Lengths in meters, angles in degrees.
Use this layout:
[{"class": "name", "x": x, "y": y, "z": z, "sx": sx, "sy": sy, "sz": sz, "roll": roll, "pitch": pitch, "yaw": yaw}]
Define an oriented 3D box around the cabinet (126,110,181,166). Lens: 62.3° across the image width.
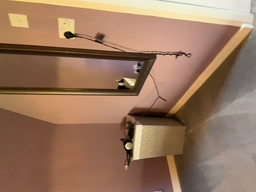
[{"class": "cabinet", "x": 0.230, "y": 0.440, "z": 2.210, "sx": 0.450, "sy": 0.380, "sz": 0.410, "roll": 111, "pitch": 156, "yaw": -52}]
